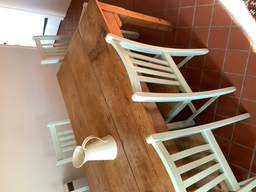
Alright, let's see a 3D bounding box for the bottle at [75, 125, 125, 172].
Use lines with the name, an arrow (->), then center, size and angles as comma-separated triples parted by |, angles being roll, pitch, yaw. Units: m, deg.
bottle -> -0.160, 0.290, 1.180 | 0.170, 0.180, 0.170 | -49, 57, 42
